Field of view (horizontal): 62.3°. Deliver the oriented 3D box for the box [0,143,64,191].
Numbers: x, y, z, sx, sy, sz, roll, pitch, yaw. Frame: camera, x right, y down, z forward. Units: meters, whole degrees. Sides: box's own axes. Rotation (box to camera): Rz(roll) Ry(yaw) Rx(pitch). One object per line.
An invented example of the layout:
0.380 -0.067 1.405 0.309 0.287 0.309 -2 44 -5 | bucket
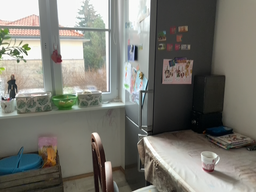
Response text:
-0.990 0.820 2.190 0.600 0.430 0.480 -4 13 -18 | box
